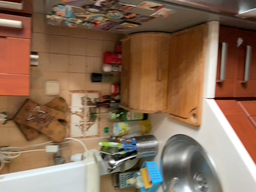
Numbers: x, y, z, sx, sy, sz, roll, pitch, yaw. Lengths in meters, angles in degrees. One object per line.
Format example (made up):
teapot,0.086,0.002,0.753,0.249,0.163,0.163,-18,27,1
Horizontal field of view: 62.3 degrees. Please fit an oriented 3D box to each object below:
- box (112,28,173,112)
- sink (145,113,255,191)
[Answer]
box,0.060,-0.140,1.180,0.340,0.170,0.390,-161,73,-64
sink,0.330,0.410,1.030,0.470,0.200,0.460,117,144,-44
